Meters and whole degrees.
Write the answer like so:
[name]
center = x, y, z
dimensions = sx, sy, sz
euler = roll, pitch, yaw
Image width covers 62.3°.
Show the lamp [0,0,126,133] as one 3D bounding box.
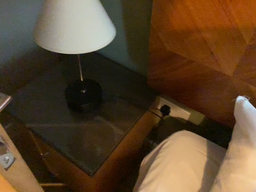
[lamp]
center = -0.210, -0.150, 0.750
dimensions = 0.320, 0.460, 0.220
euler = 28, 52, 20
